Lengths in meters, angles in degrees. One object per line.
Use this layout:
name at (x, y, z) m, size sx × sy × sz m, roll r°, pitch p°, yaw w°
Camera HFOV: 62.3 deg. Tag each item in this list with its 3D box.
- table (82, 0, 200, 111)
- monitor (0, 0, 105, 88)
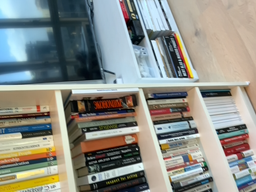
table at (-0.010, -0.690, 1.820) m, size 0.500 × 0.530 × 1.520 m, roll -42°, pitch 57°, yaw 52°
monitor at (-0.640, -0.640, 1.620) m, size 0.040 × 0.740 × 1.250 m, roll -41°, pitch 57°, yaw 53°
